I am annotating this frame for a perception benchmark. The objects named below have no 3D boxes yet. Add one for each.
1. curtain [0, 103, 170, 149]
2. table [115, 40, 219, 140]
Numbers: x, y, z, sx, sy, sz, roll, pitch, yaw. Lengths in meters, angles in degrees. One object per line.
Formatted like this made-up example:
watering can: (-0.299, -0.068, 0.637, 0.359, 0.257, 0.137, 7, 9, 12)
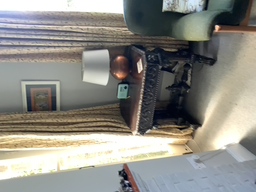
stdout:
curtain: (-0.750, 0.290, 2.110, 0.350, 2.420, 0.190, -127, 39, -58)
table: (0.330, -0.100, 2.220, 0.660, 0.710, 0.800, -128, 40, -59)
